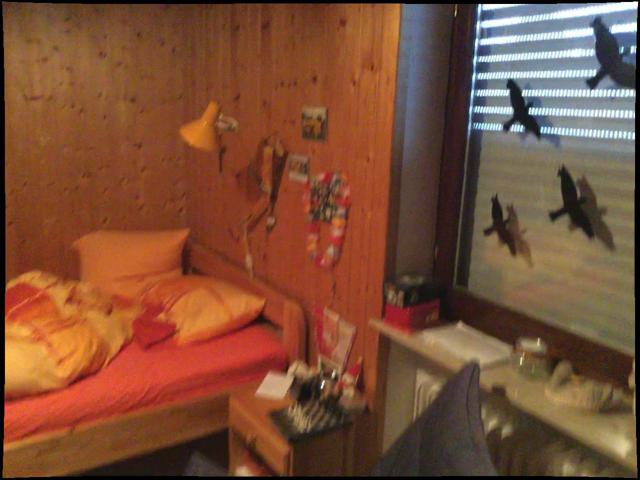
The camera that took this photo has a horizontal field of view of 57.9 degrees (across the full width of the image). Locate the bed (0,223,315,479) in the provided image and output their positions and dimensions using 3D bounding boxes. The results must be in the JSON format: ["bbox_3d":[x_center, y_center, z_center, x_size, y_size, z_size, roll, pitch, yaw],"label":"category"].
[{"bbox_3d":[-1.379,0.561,2.510,2.238,0.781,1.500,-7,17,-31],"label":"bed"}]
